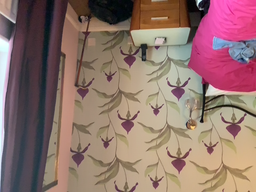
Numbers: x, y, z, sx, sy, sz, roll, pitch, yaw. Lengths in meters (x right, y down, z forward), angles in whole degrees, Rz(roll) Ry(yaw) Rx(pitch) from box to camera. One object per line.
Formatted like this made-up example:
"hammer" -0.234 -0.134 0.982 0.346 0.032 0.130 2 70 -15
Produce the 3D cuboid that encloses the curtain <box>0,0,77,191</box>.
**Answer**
"curtain" -0.590 0.090 1.360 0.320 2.350 0.340 1 172 5

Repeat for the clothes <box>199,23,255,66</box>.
"clothes" 0.840 -0.320 1.430 0.560 0.100 0.420 2 172 -7
